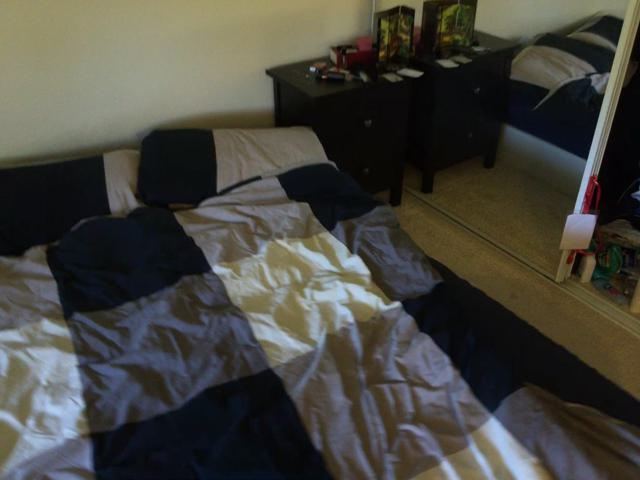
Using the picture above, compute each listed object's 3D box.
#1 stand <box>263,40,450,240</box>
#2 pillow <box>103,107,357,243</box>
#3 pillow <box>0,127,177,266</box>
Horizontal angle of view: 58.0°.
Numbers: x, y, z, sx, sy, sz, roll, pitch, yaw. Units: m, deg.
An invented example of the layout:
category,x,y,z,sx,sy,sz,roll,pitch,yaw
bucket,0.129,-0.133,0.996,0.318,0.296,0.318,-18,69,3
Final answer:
category,x,y,z,sx,sy,sz,roll,pitch,yaw
stand,0.150,-0.470,2.570,0.600,0.640,0.500,-18,35,-23
pillow,-0.310,-0.270,2.110,0.810,0.160,0.400,-20,36,-27
pillow,-0.910,-0.160,1.960,0.680,0.160,0.480,-20,36,-27
